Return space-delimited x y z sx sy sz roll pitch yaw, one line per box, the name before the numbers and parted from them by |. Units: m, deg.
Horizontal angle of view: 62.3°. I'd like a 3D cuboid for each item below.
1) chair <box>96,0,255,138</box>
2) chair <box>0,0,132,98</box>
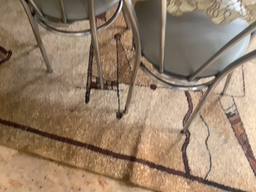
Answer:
chair | 0.200 -0.210 0.730 0.410 0.830 0.470 16 70 5
chair | -0.240 -0.400 0.790 0.410 0.830 0.470 16 70 5
